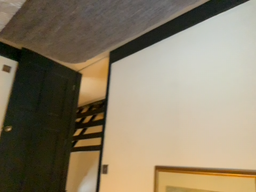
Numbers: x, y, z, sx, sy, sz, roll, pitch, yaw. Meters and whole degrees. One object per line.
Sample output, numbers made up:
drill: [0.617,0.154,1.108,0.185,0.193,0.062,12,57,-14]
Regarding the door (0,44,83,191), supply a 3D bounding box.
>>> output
door: [-1.050,0.510,2.460,0.080,2.110,0.890,-15,154,41]
